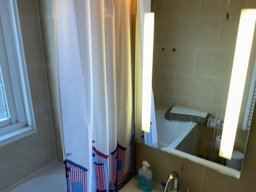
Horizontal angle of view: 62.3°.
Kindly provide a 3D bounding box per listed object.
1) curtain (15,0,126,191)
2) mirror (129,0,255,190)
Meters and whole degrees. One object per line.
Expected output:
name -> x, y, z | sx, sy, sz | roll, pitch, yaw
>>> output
curtain -> -0.200, 0.190, 1.010 | 0.180, 1.880, 0.390 | 13, 23, 35
mirror -> 0.250, -0.050, 0.890 | 0.520, 0.720, 0.130 | 13, 23, 35
